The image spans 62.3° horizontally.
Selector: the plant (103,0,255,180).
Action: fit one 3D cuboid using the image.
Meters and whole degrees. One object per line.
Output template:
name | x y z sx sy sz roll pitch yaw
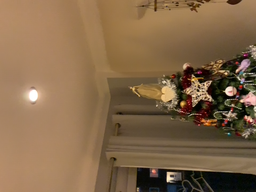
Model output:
plant | 0.920 -0.100 1.510 1.010 1.910 0.920 -83 -10 -46
